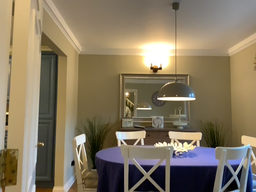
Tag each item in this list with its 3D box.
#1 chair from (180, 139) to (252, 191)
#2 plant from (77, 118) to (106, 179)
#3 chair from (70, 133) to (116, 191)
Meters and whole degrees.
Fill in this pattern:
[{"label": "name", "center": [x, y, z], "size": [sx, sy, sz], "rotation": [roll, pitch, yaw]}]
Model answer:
[{"label": "chair", "center": [0.780, 0.870, 1.900], "size": [0.390, 0.880, 0.450], "rotation": [2, -4, -33]}, {"label": "plant", "center": [-0.630, 0.900, 3.720], "size": [0.450, 1.010, 0.270], "rotation": [0, -3, -3]}, {"label": "chair", "center": [-0.360, 0.880, 2.290], "size": [0.450, 0.900, 0.400], "rotation": [0, -3, -4]}]
